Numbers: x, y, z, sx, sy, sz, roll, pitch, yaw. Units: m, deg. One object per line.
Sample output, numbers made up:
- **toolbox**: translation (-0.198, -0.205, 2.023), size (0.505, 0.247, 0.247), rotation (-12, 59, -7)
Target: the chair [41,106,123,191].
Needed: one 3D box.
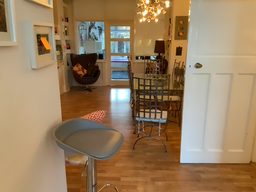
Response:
- **chair**: translation (-0.260, 0.610, 1.520), size (0.430, 0.970, 0.490), rotation (0, 15, 1)

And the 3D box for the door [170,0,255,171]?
- **door**: translation (1.040, -0.200, 2.380), size (0.970, 2.250, 0.160), rotation (1, 15, 2)

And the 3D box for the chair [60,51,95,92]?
- **chair**: translation (-1.550, -0.800, 6.450), size (0.820, 1.090, 0.880), rotation (-6, 16, -23)
